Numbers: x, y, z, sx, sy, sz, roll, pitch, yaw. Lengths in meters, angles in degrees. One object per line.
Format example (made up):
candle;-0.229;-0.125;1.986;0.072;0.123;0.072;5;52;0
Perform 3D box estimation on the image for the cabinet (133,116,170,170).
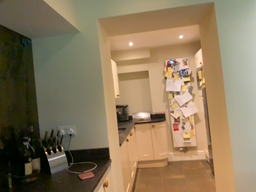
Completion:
cabinet;0.480;0.930;4.350;0.630;0.950;0.600;-5;0;6
